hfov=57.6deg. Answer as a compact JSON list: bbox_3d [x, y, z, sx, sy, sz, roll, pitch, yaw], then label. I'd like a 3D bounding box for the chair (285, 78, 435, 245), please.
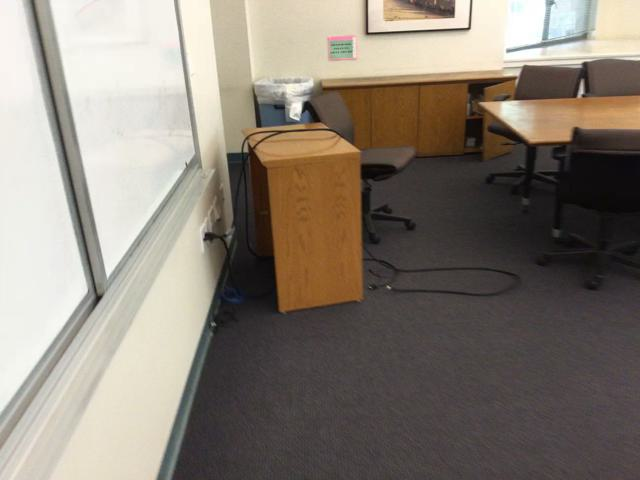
[{"bbox_3d":[0.300,-0.540,3.830,0.760,0.910,0.610,6,27,24],"label":"chair"}]
